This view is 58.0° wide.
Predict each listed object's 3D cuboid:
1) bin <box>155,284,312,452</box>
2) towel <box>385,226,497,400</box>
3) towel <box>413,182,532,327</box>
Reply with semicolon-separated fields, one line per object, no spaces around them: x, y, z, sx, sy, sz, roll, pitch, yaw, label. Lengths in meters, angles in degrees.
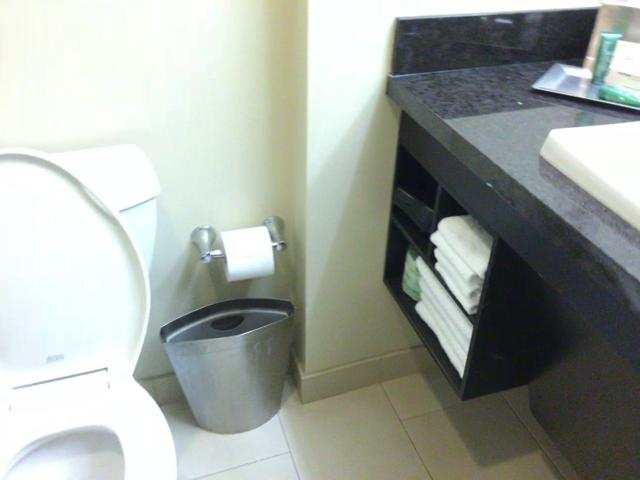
-0.210;0.320;1.460;0.340;0.320;0.170;-10;35;-16;bin
0.240;0.140;1.230;0.040;0.170;0.370;-10;35;-16;towel
0.270;0.020;1.070;0.090;0.160;0.220;-10;35;-16;towel
